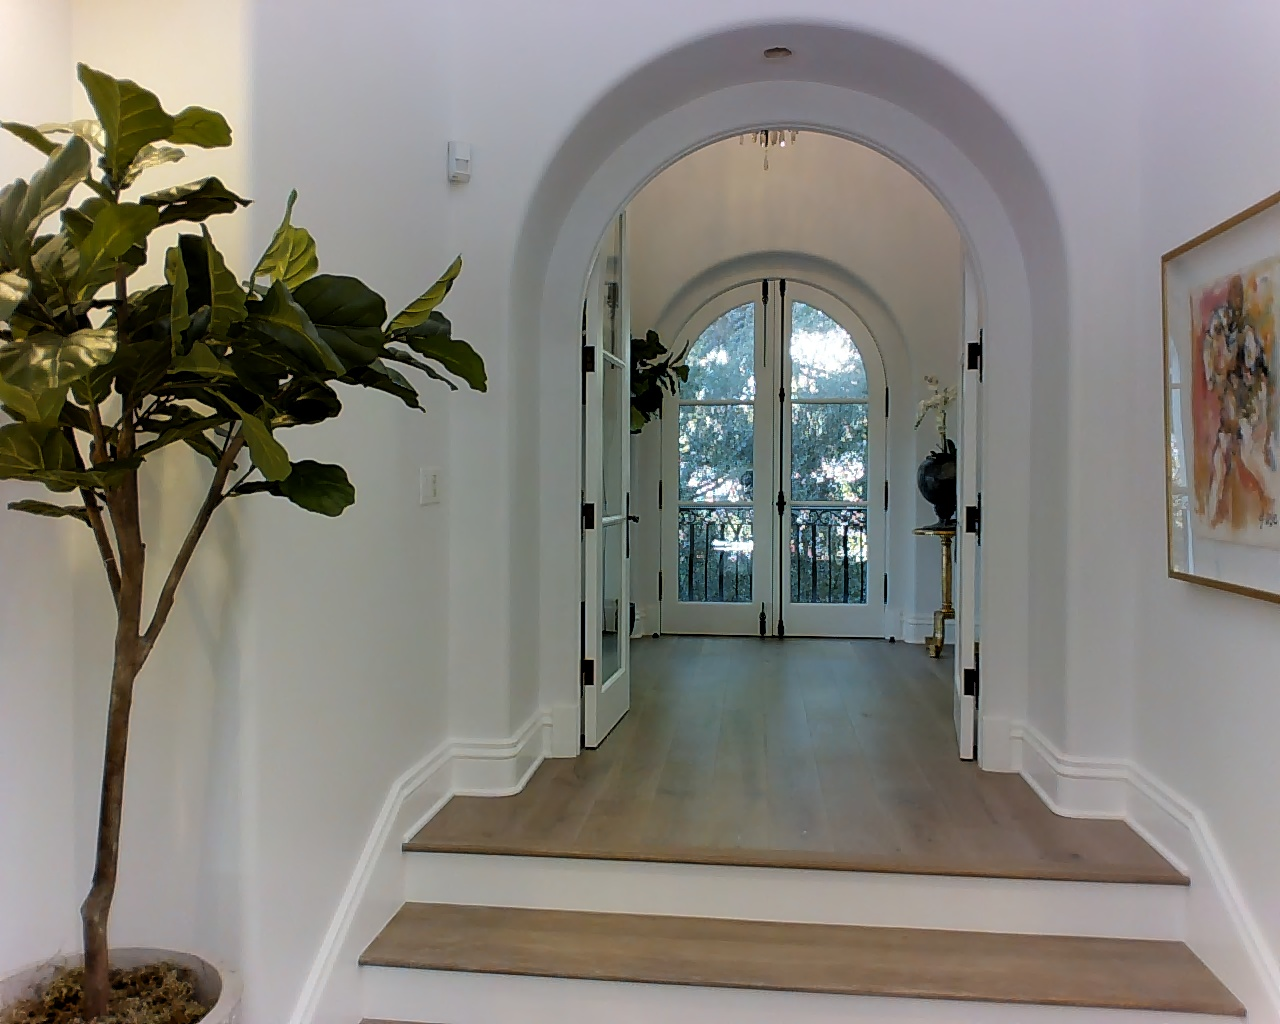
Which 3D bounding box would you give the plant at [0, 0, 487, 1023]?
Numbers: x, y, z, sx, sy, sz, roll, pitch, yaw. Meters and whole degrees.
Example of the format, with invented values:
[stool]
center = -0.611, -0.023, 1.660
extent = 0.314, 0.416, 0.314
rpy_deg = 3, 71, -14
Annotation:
[plant]
center = -0.800, 0.420, 1.710
extent = 0.850, 2.291, 1.040
rpy_deg = 0, 2, 7
